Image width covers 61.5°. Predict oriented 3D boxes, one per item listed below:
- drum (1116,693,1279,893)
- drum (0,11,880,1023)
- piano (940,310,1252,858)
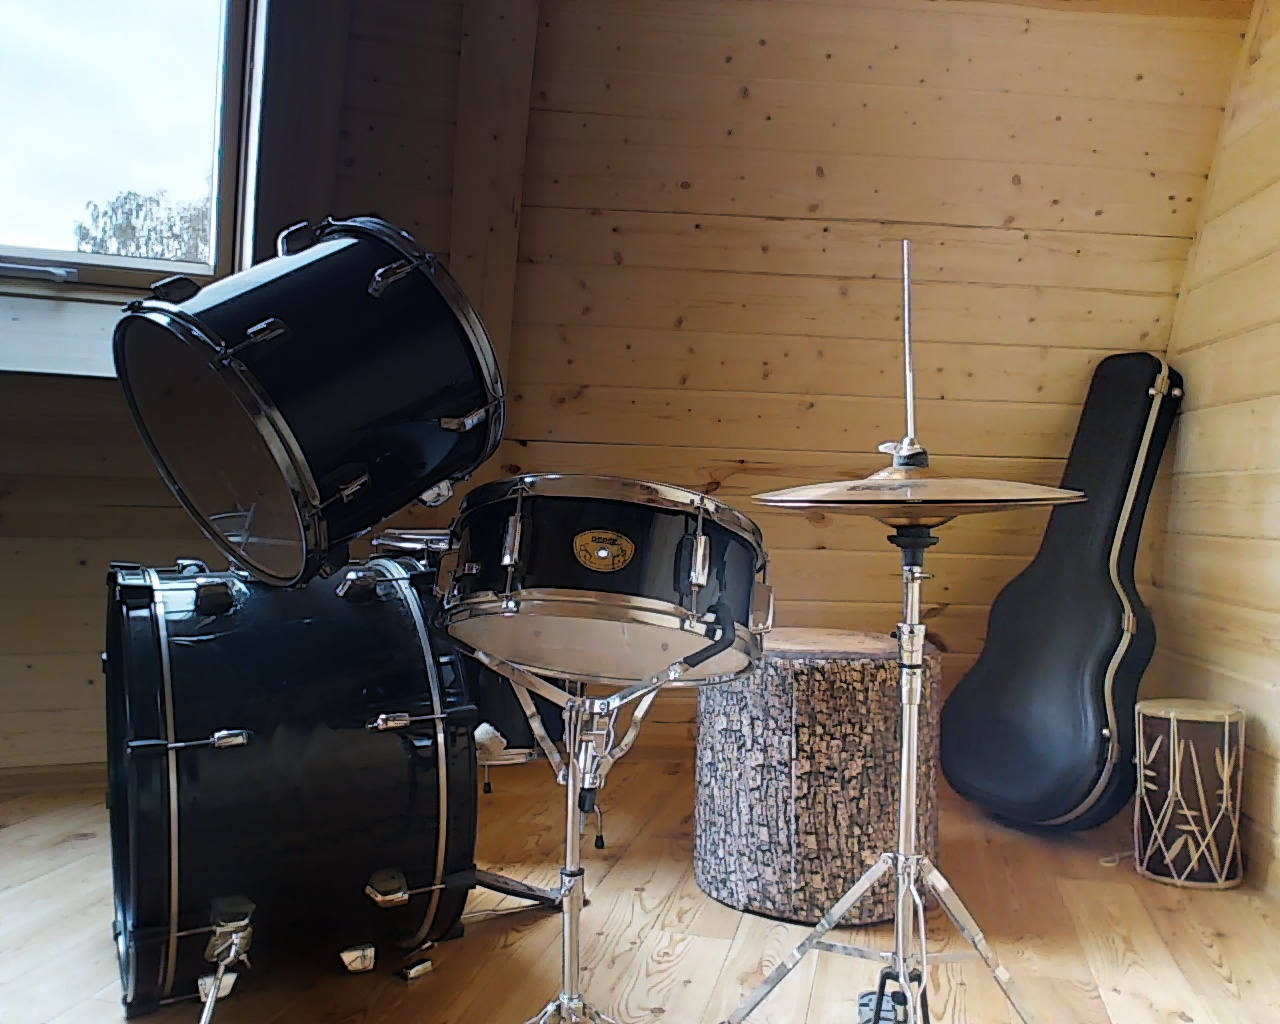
[{"bbox_3d":[1.070,0.530,2.070,0.220,0.320,0.210,2,0,7],"label":"drum"},{"bbox_3d":[-0.390,0.150,1.470,0.870,1.030,1.090,2,0,-29],"label":"drum"},{"bbox_3d":[0.990,0.150,2.400,0.460,1.100,0.440,2,0,-5],"label":"piano"}]
